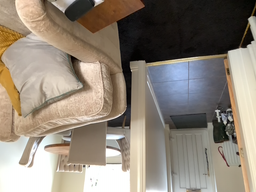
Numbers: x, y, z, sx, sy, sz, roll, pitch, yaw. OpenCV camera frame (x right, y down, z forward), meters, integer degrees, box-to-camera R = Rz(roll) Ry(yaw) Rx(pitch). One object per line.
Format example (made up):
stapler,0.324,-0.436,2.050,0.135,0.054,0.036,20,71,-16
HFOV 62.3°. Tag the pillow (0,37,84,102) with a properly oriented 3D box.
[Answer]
pillow,-0.550,-0.180,1.310,0.490,0.310,0.200,10,-165,16

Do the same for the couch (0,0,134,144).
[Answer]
couch,-1.000,-0.210,1.570,1.790,0.910,1.070,-11,156,29

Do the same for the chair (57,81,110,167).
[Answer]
chair,-0.650,0.450,3.110,0.550,1.030,0.770,9,156,-13
